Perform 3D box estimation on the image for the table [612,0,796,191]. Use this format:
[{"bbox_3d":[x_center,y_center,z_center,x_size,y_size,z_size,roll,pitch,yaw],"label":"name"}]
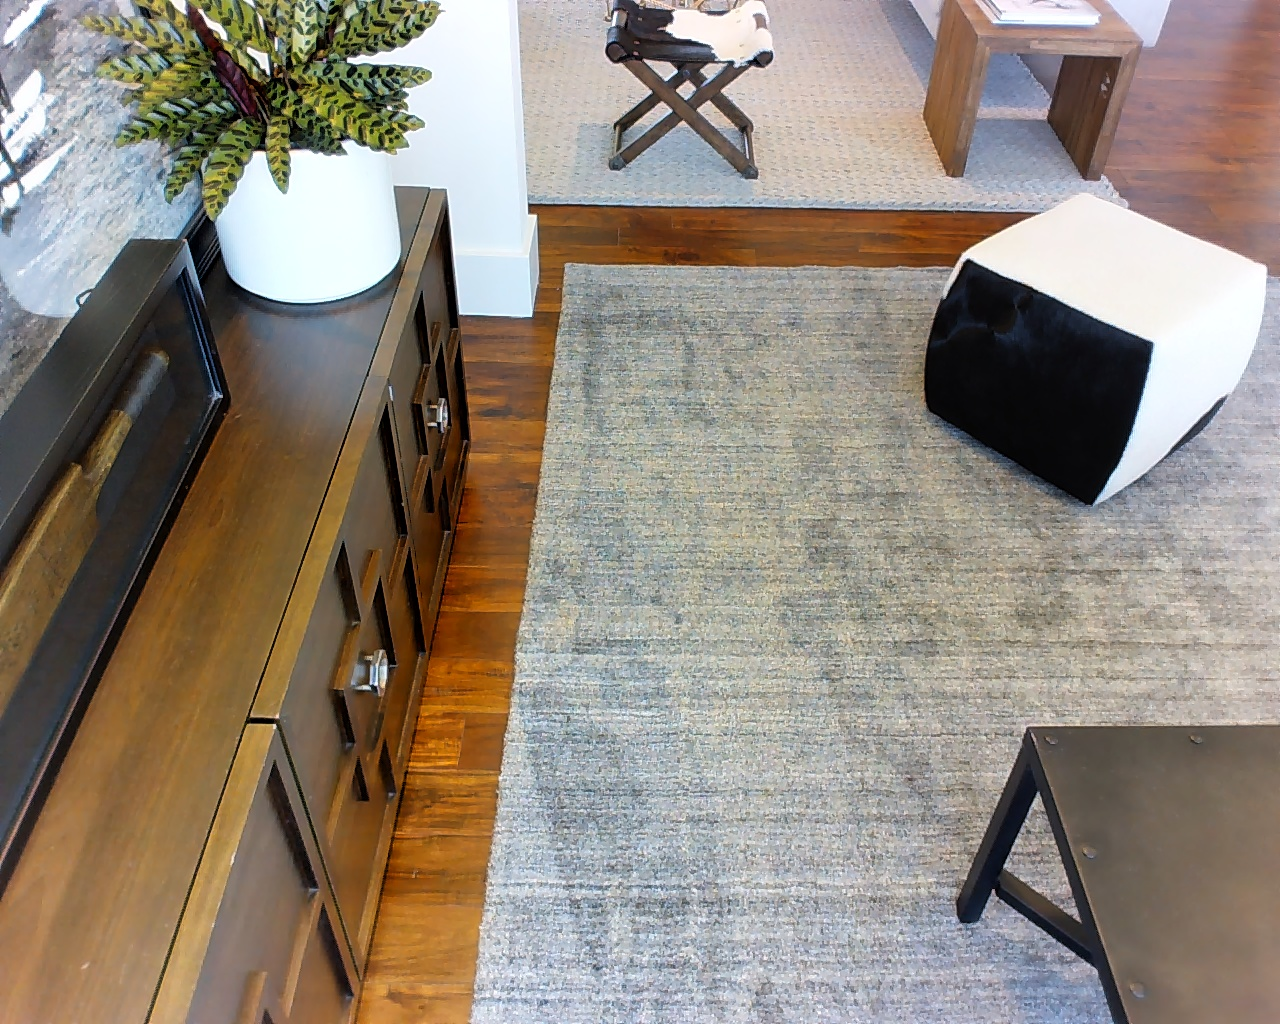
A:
[{"bbox_3d":[0.190,-1.370,3.500,0.540,0.430,0.520,2,42,0],"label":"table"}]
